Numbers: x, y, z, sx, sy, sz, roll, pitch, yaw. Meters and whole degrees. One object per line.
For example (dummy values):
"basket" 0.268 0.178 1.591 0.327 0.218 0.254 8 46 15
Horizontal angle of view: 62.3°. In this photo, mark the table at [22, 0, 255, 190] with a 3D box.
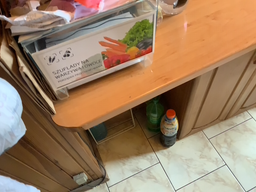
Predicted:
"table" 0.470 -0.160 0.980 1.500 0.770 0.360 -23 58 -10
